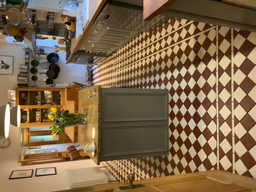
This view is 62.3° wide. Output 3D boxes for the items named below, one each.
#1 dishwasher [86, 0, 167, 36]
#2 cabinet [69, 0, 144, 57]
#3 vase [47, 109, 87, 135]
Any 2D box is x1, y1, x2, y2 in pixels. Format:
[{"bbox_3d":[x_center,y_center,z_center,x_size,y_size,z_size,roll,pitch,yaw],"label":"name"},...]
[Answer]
[{"bbox_3d":[-0.040,-1.250,2.770,0.650,0.880,0.660,179,92,-67],"label":"dishwasher"},{"bbox_3d":[-0.520,-1.260,3.950,1.910,0.860,0.630,179,92,-67],"label":"cabinet"},{"bbox_3d":[-0.860,0.350,2.980,0.370,0.490,0.320,176,95,-67],"label":"vase"}]
